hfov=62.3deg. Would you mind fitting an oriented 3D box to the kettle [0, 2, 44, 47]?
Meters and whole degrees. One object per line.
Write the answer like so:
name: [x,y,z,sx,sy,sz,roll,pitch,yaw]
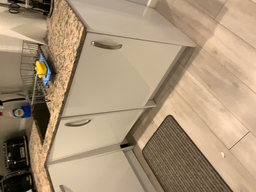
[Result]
kettle: [-0.700,-0.440,1.320,0.150,0.270,0.190,58,134,32]
